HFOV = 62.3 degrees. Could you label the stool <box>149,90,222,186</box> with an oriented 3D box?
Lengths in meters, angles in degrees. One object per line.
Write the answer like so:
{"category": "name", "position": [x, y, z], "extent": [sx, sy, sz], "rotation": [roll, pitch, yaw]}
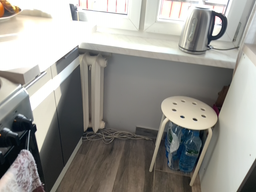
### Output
{"category": "stool", "position": [0.330, 0.260, 1.340], "extent": [0.310, 0.450, 0.320], "rotation": [9, 32, 6]}
